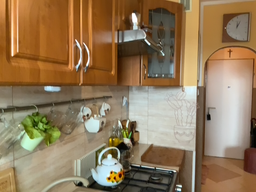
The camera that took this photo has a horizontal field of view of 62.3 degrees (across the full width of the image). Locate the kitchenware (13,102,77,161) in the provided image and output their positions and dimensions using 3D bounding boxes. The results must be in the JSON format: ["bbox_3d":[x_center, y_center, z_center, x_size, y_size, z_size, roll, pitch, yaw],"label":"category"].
[{"bbox_3d":[-0.380,0.150,1.020,0.130,0.210,0.290,2,4,18],"label":"kitchenware"}]

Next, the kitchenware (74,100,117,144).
[{"bbox_3d":[-0.220,0.170,1.550,0.120,0.240,0.430,2,4,19],"label":"kitchenware"}]
